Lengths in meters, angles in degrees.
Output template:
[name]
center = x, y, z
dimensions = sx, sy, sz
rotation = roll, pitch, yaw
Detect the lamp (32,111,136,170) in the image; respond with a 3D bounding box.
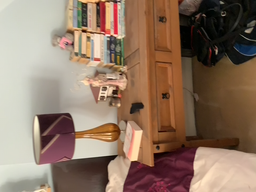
[lamp]
center = -0.280, 0.240, 1.300
dimensions = 0.330, 0.560, 0.280
rotation = 166, 104, -65

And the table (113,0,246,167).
[table]
center = 0.330, -0.230, 1.550
dimensions = 0.480, 0.740, 1.280
rotation = 163, 106, -65
